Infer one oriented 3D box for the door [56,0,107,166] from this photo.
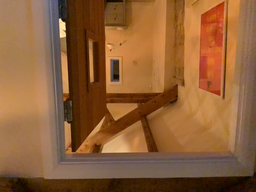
[{"bbox_3d":[-0.250,-0.640,1.320,0.060,1.890,0.800,1,-171,6],"label":"door"}]
